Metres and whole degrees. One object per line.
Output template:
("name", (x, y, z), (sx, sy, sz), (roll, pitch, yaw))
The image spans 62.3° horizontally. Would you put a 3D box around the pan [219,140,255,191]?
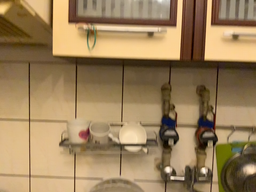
("pan", (0.530, 0.350, 0.900), (0.230, 0.300, 0.110), (1, 4, -6))
